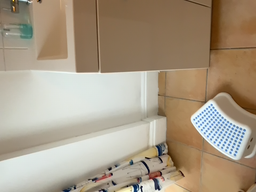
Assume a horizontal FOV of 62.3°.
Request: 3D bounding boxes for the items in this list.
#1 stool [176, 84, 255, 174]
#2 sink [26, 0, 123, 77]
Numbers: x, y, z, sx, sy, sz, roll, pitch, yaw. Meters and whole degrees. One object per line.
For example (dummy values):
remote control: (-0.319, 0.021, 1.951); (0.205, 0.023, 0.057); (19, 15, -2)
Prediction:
stool: (0.480, 0.160, 1.120); (0.330, 0.140, 0.310); (44, 127, 35)
sink: (-0.230, -0.390, 0.800); (0.450, 0.160, 0.610); (9, 103, 48)
